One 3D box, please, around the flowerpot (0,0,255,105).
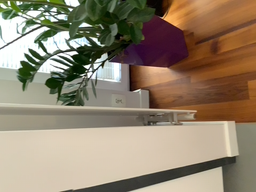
[{"bbox_3d":[-0.130,-0.520,1.060,1.090,1.050,1.020,-8,79,51],"label":"flowerpot"}]
